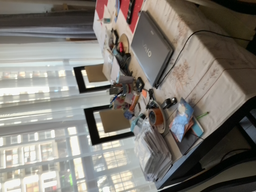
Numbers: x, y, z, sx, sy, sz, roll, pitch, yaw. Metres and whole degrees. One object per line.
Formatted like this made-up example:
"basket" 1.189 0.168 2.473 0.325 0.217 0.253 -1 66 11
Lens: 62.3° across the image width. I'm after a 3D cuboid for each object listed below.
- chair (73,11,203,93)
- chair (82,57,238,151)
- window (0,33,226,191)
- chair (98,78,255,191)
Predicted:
"chair" 0.060 -0.410 2.000 0.560 1.050 0.390 109 147 -47
"chair" 0.220 0.040 1.730 0.560 1.070 0.390 109 147 -47
"window" -0.780 0.220 2.170 0.180 2.850 2.650 110 146 -47
"chair" 0.430 0.270 1.270 0.420 1.060 0.560 105 150 -42
